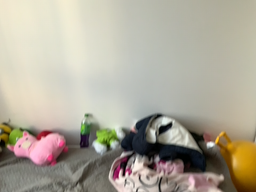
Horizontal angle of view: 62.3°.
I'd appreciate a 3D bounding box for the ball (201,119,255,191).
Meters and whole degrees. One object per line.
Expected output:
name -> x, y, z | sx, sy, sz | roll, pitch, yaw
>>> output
ball -> 0.820, 0.530, 1.590 | 0.320, 0.550, 0.460 | -1, 22, -1
